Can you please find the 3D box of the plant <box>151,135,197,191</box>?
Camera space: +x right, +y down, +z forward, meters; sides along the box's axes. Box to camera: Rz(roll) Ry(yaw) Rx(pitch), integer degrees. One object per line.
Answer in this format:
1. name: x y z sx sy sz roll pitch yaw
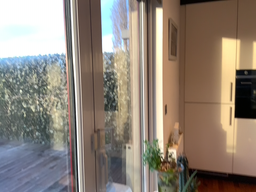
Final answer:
1. plant: 0.330 0.530 1.480 0.260 0.420 0.300 1 7 21
